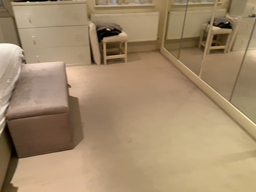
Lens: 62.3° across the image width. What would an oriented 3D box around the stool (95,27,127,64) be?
[{"bbox_3d":[-0.290,-0.860,3.570,0.430,0.490,0.380,-8,34,-15],"label":"stool"}]
